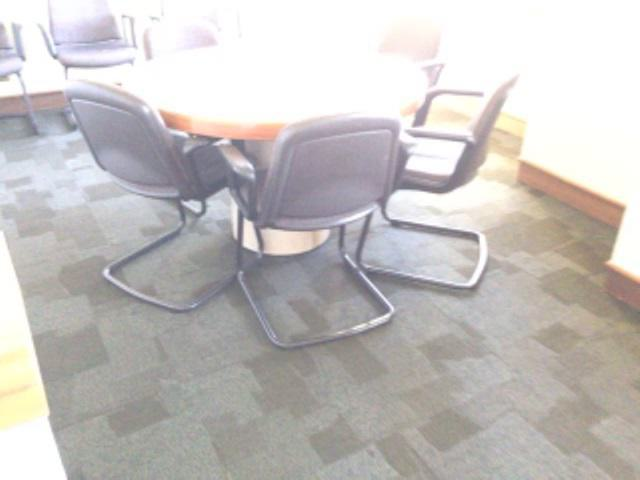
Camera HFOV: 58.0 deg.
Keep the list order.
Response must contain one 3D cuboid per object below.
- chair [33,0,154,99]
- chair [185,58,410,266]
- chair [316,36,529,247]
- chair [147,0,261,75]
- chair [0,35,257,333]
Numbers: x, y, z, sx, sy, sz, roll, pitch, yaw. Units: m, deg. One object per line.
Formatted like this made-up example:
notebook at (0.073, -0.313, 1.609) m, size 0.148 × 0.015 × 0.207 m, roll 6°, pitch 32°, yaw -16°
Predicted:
chair at (-1.530, -1.360, 3.880) m, size 0.590 × 0.600 × 0.640 m, roll -14°, pitch 32°, yaw -24°
chair at (-0.110, -0.300, 1.930) m, size 0.590 × 0.450 × 0.620 m, roll -7°, pitch 30°, yaw -13°
chair at (0.380, -0.420, 2.240) m, size 0.660 × 0.570 × 0.670 m, roll 6°, pitch 30°, yaw 10°
chair at (-0.830, -1.520, 4.130) m, size 0.620 × 0.490 × 0.570 m, roll -14°, pitch 32°, yaw -24°
chair at (-0.710, -0.260, 2.220) m, size 0.640 × 0.860 × 0.650 m, roll 15°, pitch 33°, yaw 25°
